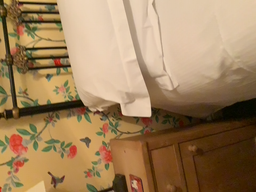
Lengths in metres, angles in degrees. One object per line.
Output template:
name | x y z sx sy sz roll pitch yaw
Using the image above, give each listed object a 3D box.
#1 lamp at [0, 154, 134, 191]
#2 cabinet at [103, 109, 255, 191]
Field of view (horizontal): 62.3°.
lamp | -0.230 0.410 0.820 0.210 0.470 0.230 -20 79 64
cabinet | 0.340 0.310 1.040 0.360 0.800 0.370 -19 80 64
